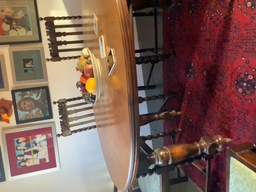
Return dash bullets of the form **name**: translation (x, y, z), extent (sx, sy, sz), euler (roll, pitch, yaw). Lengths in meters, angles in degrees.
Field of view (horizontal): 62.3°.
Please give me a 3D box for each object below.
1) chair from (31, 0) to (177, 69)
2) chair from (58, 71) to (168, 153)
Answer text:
- **chair**: translation (-0.190, -0.510, 1.810), extent (0.490, 1.060, 0.430), euler (-161, 63, -70)
- **chair**: translation (-0.180, 0.160, 2.220), extent (0.550, 0.950, 0.490), euler (106, 150, -53)
